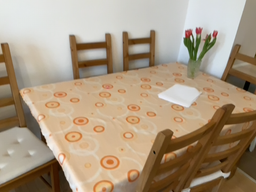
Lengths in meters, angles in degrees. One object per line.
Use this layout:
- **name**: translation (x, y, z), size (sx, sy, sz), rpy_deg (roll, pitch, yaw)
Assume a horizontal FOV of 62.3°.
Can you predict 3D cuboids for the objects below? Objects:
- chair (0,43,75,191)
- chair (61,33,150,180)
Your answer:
- **chair**: translation (-0.730, 0.250, 1.350), size (0.490, 0.980, 0.660), rpy_deg (-17, 36, -38)
- **chair**: translation (-0.220, 0.070, 1.740), size (0.450, 1.040, 0.480), rpy_deg (-12, 33, -31)
